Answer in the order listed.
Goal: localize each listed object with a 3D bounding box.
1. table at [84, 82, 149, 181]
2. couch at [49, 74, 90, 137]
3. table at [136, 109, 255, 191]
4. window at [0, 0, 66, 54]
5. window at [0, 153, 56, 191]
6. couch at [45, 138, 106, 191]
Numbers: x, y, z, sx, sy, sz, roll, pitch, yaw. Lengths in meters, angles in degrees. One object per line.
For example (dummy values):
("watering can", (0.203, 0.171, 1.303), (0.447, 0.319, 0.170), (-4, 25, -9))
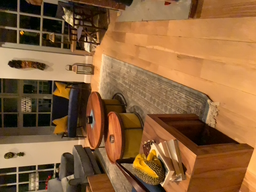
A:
("table", (-0.260, 0.380, 3.010), (1.380, 0.390, 0.860), (-144, 59, -62))
("couch", (-1.480, 0.210, 5.250), (0.820, 0.780, 1.290), (-139, 55, -60))
("table", (0.410, 0.370, 1.470), (0.590, 0.460, 0.370), (-141, 56, -61))
("window", (-2.120, -1.540, 4.380), (0.320, 1.500, 1.130), (-141, 56, -61))
("window", (-2.640, 2.100, 5.420), (0.370, 1.450, 1.110), (-139, 55, -60))
("couch", (-1.100, 1.600, 4.150), (1.140, 0.920, 1.070), (-141, 56, -60))
